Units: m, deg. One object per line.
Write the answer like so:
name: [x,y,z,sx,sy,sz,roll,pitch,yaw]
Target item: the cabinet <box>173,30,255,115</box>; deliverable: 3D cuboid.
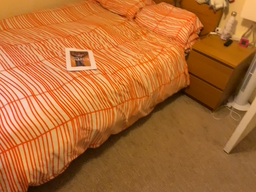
cabinet: [0.830,-0.240,2.060,0.500,0.540,0.450,-30,52,-34]
